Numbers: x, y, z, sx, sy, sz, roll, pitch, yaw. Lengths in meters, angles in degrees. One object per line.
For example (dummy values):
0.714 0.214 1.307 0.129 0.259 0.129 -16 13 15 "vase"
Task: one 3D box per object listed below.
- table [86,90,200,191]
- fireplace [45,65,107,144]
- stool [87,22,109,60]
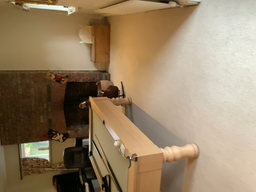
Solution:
-0.040 0.780 3.120 2.120 0.780 1.240 -143 53 -64 "table"
-1.320 0.140 5.440 0.900 1.380 1.750 -146 55 -64 "fireplace"
-0.740 -1.340 5.180 0.510 0.410 0.840 -146 55 -64 "stool"
